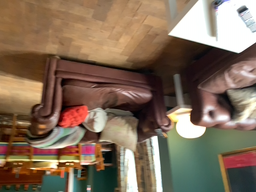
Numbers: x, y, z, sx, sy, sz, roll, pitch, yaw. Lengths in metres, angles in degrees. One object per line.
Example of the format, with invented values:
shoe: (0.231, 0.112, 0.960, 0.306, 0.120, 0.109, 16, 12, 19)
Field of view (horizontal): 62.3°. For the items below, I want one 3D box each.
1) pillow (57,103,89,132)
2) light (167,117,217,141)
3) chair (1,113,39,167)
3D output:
pillow: (-0.590, 0.240, 2.260, 0.270, 0.190, 0.350, 7, 156, -21)
light: (0.810, 0.440, 2.740, 0.420, 0.190, 0.440, 7, 156, -21)
chair: (-1.950, 0.820, 3.910, 0.450, 0.900, 0.460, 6, 156, -18)
